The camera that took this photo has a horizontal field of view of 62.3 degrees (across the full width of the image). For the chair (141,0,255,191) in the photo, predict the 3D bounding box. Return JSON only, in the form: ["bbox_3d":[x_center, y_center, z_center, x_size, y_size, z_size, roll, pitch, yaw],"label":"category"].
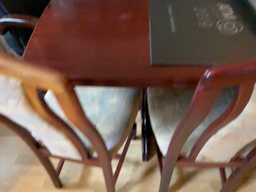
[{"bbox_3d":[0.310,0.040,0.900,0.400,0.960,0.560,-7,48,-4],"label":"chair"}]

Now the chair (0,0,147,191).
[{"bbox_3d":[-0.210,0.060,0.900,0.460,0.970,0.560,9,49,10],"label":"chair"}]
